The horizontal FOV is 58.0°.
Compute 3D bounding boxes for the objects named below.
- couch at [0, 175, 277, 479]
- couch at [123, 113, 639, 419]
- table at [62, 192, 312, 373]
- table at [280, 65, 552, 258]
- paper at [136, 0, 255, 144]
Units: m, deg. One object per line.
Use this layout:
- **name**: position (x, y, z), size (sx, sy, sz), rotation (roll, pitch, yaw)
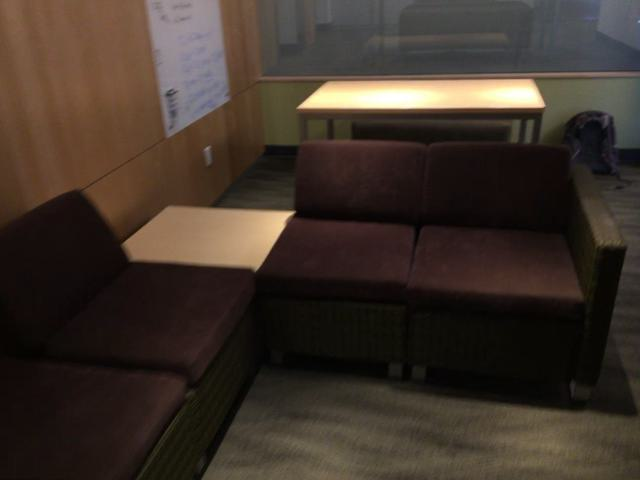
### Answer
- **couch**: position (-0.750, 0.430, 1.660), size (0.840, 0.840, 1.370), rotation (-2, 22, 12)
- **couch**: position (0.250, 0.050, 2.330), size (1.590, 0.830, 0.930), rotation (-2, 22, 12)
- **table**: position (-0.530, 0.160, 2.650), size (0.800, 0.500, 0.790), rotation (-2, 22, 12)
- **table**: position (0.560, -0.530, 3.440), size (1.360, 0.890, 0.830), rotation (5, 23, 15)
- **paper**: position (-0.700, -1.380, 3.260), size (0.070, 1.370, 1.060), rotation (4, 30, 17)
